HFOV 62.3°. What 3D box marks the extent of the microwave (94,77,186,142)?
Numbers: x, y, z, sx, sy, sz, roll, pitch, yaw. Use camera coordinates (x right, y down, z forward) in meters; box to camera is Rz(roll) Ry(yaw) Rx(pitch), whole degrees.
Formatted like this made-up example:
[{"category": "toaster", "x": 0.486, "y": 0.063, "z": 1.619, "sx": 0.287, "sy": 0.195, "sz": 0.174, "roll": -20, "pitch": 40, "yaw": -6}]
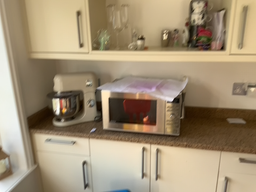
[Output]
[{"category": "microwave", "x": 0.100, "y": 0.060, "z": 1.420, "sx": 0.520, "sy": 0.270, "sz": 0.410, "roll": 3, "pitch": 18, "yaw": 12}]
